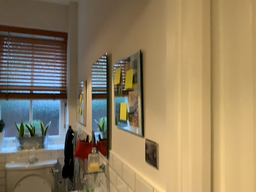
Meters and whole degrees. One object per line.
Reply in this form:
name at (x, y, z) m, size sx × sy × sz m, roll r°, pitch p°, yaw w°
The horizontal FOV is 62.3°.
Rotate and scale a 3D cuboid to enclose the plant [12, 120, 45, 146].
plant at (-1.150, 0.420, 2.470) m, size 0.320 × 0.260 × 0.230 m, roll 1°, pitch -1°, yaw -20°
